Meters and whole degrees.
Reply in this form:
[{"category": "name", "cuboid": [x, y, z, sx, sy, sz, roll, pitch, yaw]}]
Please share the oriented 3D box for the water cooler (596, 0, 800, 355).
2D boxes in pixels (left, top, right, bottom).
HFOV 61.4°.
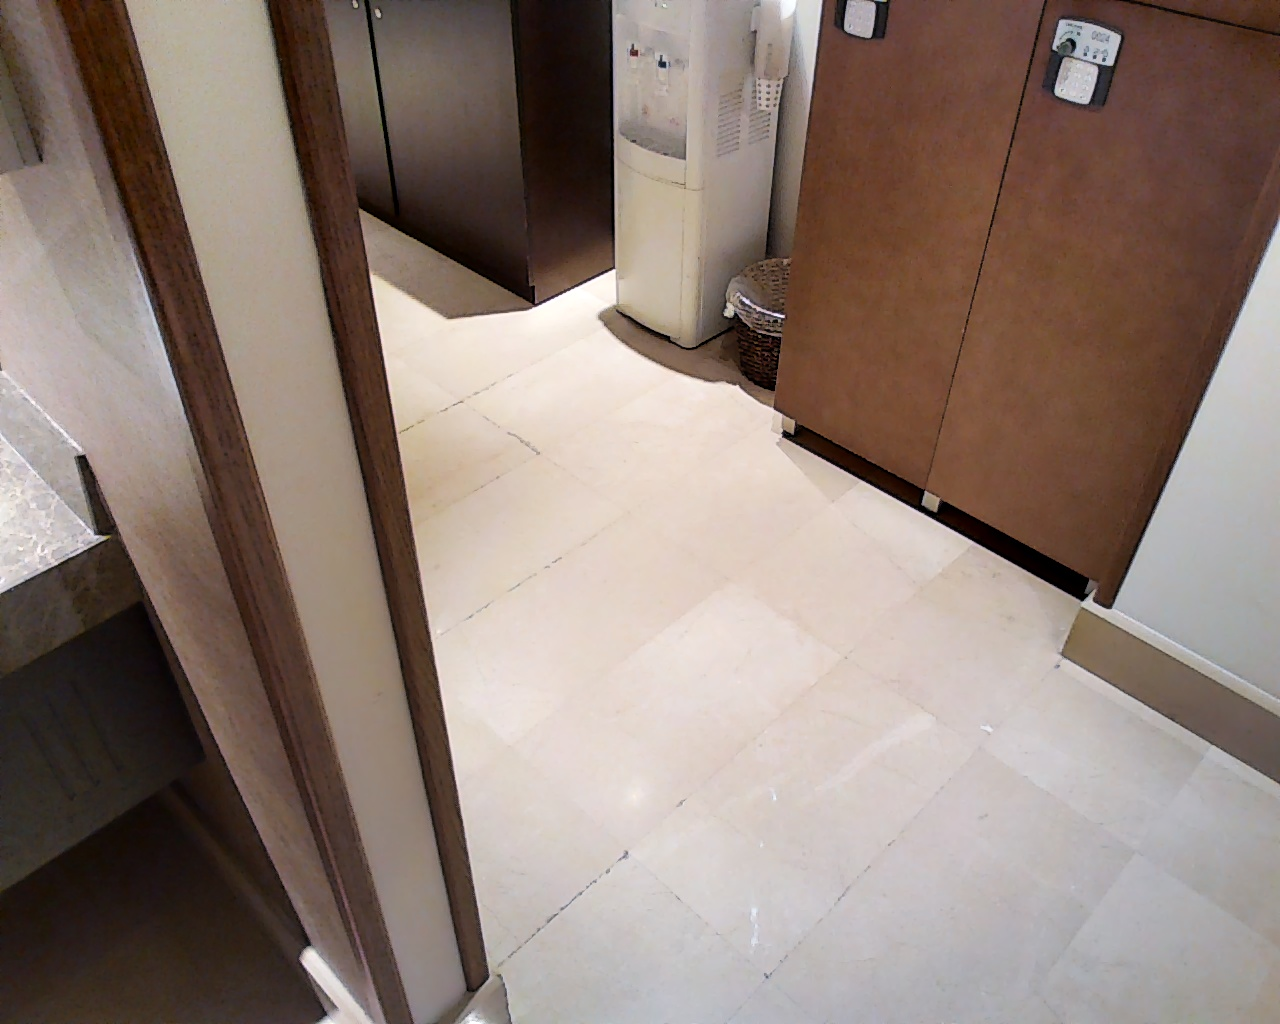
[{"category": "water cooler", "cuboid": [0.140, -1.110, 2.640, 0.310, 1.390, 0.390, 30, 49, 28]}]
